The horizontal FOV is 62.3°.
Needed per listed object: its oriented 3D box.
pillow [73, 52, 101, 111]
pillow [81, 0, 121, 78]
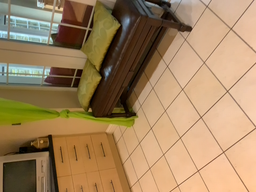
[{"bbox_3d":[-0.460,-0.150,2.280,0.480,0.090,0.400,-59,42,41],"label":"pillow"},{"bbox_3d":[-0.270,-0.500,1.930,0.580,0.110,0.360,-58,42,42],"label":"pillow"}]
